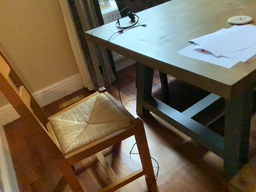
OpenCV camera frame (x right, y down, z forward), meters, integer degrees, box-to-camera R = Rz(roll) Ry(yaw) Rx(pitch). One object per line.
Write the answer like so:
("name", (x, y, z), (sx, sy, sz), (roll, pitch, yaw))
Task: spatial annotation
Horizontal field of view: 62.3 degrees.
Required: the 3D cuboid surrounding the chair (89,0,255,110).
("chair", (0.520, -0.710, 2.030), (1.480, 0.920, 0.660), (-29, 37, -24))
